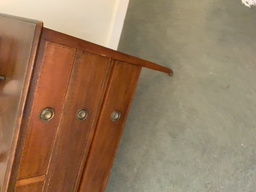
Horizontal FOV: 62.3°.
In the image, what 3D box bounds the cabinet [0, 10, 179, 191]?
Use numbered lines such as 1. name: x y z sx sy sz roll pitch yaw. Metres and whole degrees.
1. cabinet: -0.320 0.240 1.130 0.550 0.800 1.090 24 102 40
